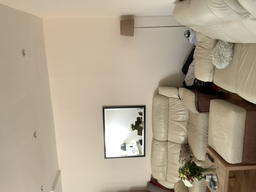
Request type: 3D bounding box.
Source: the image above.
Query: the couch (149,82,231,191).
[{"bbox_3d":[0.970,0.910,3.810,1.020,1.030,2.130,-105,14,-76],"label":"couch"}]

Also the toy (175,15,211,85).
[{"bbox_3d":[1.120,-0.790,3.740,0.430,0.440,1.140,-110,19,-80],"label":"toy"}]

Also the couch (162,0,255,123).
[{"bbox_3d":[1.040,-0.500,2.120,1.590,1.000,0.990,-103,15,-74],"label":"couch"}]
